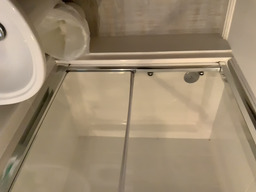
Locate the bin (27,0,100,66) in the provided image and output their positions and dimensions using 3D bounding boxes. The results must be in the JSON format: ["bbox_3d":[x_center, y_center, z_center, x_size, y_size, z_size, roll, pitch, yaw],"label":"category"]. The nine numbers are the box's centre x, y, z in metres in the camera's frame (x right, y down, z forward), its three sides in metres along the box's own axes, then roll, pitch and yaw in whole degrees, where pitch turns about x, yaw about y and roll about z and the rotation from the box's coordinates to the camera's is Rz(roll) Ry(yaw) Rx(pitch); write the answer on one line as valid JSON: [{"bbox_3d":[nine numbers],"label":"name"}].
[{"bbox_3d":[-0.340,-0.370,1.210,0.270,0.250,0.280,-3,132,8],"label":"bin"}]
